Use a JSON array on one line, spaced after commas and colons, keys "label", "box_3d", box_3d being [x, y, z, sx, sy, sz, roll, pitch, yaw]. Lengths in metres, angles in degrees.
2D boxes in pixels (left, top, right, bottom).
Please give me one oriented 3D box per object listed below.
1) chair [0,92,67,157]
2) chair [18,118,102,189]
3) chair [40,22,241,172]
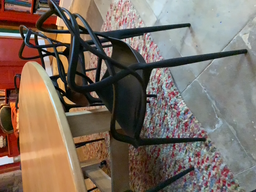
[{"label": "chair", "box_3d": [-1.720, 0.430, 3.750, 0.900, 0.980, 0.670, 34, 122, 51]}, {"label": "chair", "box_3d": [-0.780, 0.610, 2.440, 0.480, 0.800, 0.450, 32, 120, 52]}, {"label": "chair", "box_3d": [0.040, -0.040, 1.050, 0.440, 0.800, 0.420, 50, 134, 43]}]
